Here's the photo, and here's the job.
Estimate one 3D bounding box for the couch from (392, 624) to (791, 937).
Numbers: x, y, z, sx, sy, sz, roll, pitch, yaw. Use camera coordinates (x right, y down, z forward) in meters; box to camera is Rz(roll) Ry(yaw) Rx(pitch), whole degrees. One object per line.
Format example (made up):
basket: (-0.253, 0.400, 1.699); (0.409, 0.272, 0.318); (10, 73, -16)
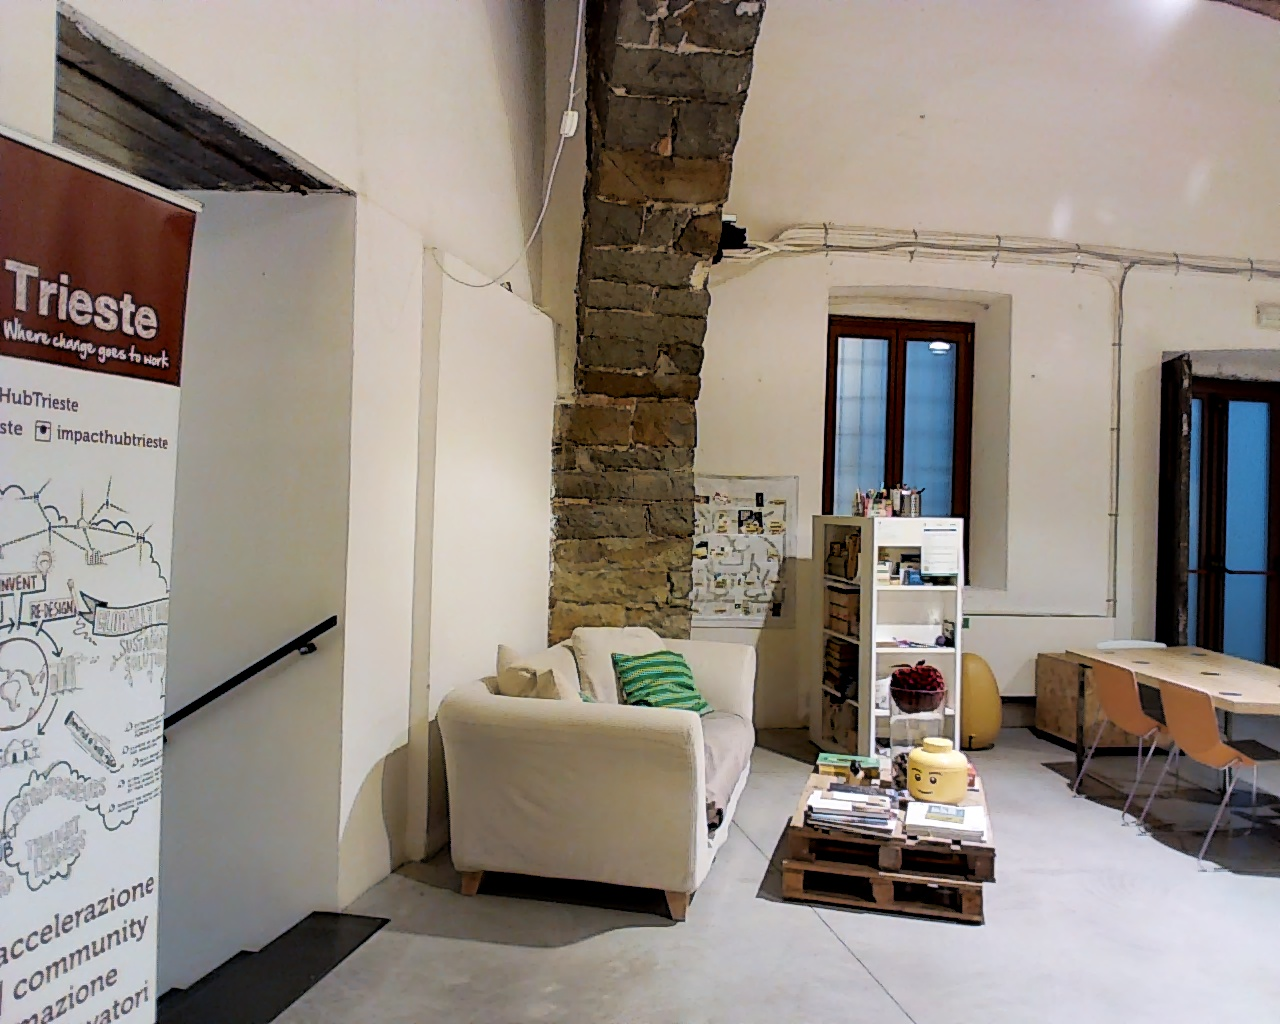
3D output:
couch: (-0.040, 1.040, 4.890); (1.220, 0.770, 2.270); (2, 0, 13)
